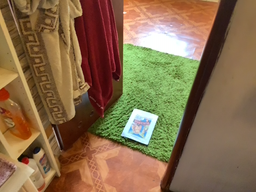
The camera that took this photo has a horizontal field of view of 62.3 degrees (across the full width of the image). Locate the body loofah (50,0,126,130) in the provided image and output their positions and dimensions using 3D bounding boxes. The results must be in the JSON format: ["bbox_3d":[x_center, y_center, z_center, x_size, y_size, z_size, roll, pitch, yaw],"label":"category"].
[{"bbox_3d":[-0.180,-0.360,1.090,0.120,1.320,0.350,35,52,29],"label":"body loofah"}]
